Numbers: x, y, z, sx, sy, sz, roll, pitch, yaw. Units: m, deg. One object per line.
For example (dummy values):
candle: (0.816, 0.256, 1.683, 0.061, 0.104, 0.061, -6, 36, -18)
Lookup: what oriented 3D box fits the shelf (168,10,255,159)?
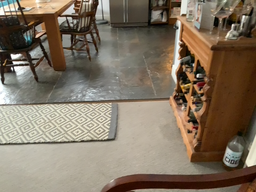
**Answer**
shelf: (0.660, -0.140, 1.750, 0.420, 0.930, 0.860, -1, 32, 0)
